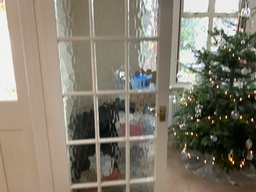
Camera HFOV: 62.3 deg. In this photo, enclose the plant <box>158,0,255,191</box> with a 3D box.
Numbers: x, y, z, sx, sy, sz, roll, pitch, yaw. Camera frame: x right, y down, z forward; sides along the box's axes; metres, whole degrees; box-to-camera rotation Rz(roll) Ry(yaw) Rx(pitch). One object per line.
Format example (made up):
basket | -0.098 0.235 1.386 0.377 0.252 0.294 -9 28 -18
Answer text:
plant | 1.280 -0.120 2.640 1.510 1.930 1.300 -1 15 -3
